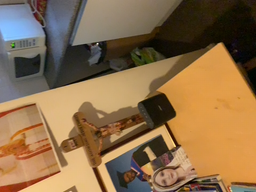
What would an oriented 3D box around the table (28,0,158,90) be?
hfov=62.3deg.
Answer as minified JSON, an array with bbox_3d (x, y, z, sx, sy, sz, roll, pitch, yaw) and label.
[{"bbox_3d":[-0.340,-0.540,1.940,0.550,0.900,0.620,64,148,11],"label":"table"}]
